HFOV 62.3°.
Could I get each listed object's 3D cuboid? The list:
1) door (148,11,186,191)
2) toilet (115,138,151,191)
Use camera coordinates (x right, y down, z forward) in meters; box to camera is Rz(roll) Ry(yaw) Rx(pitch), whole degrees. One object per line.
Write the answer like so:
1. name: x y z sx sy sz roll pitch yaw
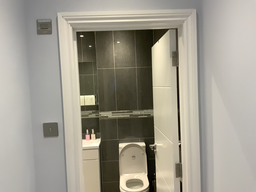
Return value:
1. door: 0.300 0.480 1.750 0.050 2.030 0.840 -3 3 -5
2. toilet: 0.050 1.040 2.670 0.380 0.850 0.600 -2 3 -3
